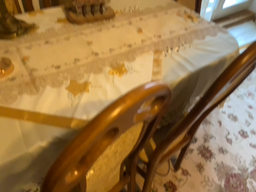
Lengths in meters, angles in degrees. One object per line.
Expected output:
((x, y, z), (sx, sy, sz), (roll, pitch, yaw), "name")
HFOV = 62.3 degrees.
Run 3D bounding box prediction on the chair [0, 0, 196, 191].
((-0.260, 0.220, 0.870), (0.580, 1.070, 0.480), (36, 54, 25), "chair")
